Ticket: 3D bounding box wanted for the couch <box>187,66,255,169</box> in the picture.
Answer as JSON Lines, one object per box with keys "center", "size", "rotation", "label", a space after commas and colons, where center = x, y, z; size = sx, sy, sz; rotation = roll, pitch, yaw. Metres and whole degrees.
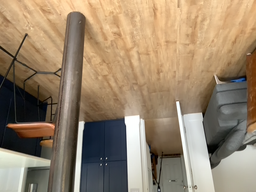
{"center": [1.730, 0.600, 3.520], "size": [1.170, 0.890, 2.800], "rotation": [-6, 156, 9], "label": "couch"}
